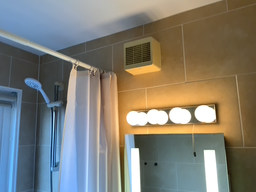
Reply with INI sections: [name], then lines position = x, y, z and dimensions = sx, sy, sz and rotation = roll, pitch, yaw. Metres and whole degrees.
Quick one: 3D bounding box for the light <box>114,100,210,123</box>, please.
[light]
position = 0.150, 0.090, 1.090
dimensions = 0.500, 0.080, 0.060
rotation = -7, -11, 31
